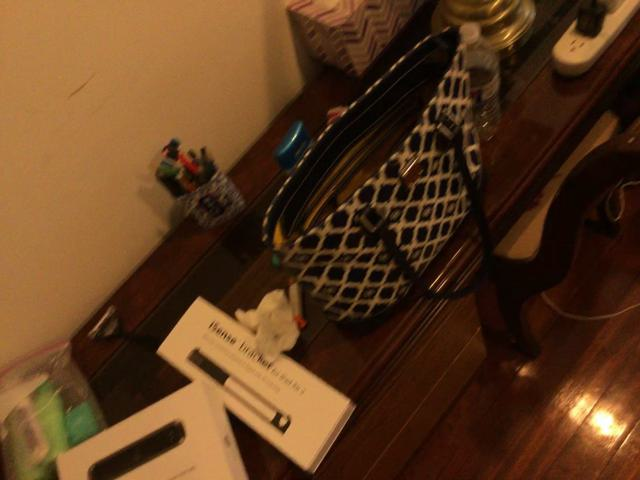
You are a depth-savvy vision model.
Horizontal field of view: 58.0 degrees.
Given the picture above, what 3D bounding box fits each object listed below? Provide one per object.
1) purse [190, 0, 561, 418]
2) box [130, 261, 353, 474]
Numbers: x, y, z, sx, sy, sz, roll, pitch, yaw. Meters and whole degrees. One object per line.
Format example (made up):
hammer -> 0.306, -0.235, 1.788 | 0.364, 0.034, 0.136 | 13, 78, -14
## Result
purse -> 0.100, -0.020, 0.710 | 0.170, 0.320, 0.380 | 36, 78, 32
box -> -0.110, 0.160, 0.770 | 0.270, 0.070, 0.140 | 31, 76, 31
